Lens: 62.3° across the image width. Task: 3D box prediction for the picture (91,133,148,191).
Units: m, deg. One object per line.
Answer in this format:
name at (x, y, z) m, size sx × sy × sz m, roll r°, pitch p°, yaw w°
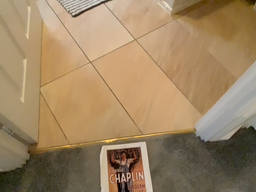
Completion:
picture at (-0.040, 0.310, 0.900) m, size 0.230 × 0.010 × 0.300 m, roll -2°, pitch 64°, yaw -4°
